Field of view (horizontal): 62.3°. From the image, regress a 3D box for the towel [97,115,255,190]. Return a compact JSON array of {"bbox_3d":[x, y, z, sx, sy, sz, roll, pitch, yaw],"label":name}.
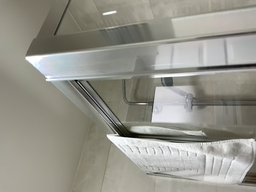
[{"bbox_3d":[0.220,0.250,0.870,0.540,0.500,0.100,60,-146,-52],"label":"towel"}]
